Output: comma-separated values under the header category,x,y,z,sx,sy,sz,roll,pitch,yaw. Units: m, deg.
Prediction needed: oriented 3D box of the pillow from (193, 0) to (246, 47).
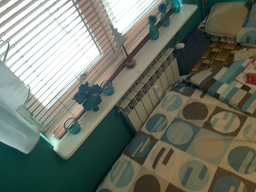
category,x,y,z,sx,sy,sz,roll,pitch,yaw
pillow,0.830,-0.680,1.920,0.190,0.300,0.370,-48,117,-32
